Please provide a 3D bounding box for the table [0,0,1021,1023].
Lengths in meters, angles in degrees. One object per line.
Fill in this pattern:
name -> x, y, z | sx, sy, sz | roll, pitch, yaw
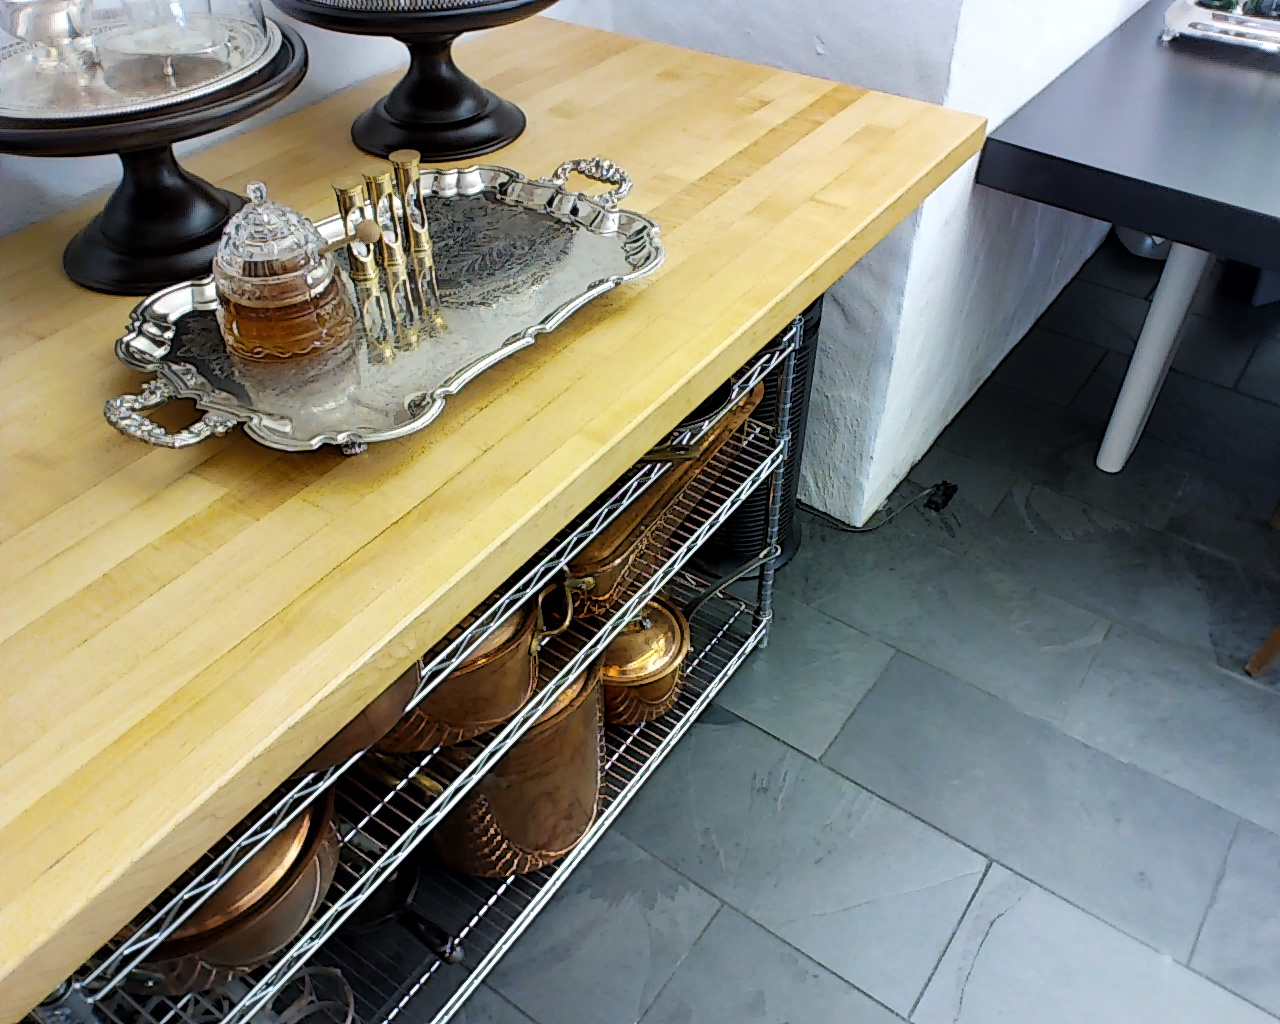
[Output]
table -> -0.300, 0.090, 1.390 | 0.820, 0.950, 1.600 | 25, 47, 25

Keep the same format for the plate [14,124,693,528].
plate -> -0.240, -0.220, 1.030 | 0.330, 0.050, 0.550 | 26, 48, 25

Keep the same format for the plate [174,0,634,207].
plate -> -0.280, -0.600, 1.340 | 0.370, 0.200, 0.410 | 28, 49, 27
